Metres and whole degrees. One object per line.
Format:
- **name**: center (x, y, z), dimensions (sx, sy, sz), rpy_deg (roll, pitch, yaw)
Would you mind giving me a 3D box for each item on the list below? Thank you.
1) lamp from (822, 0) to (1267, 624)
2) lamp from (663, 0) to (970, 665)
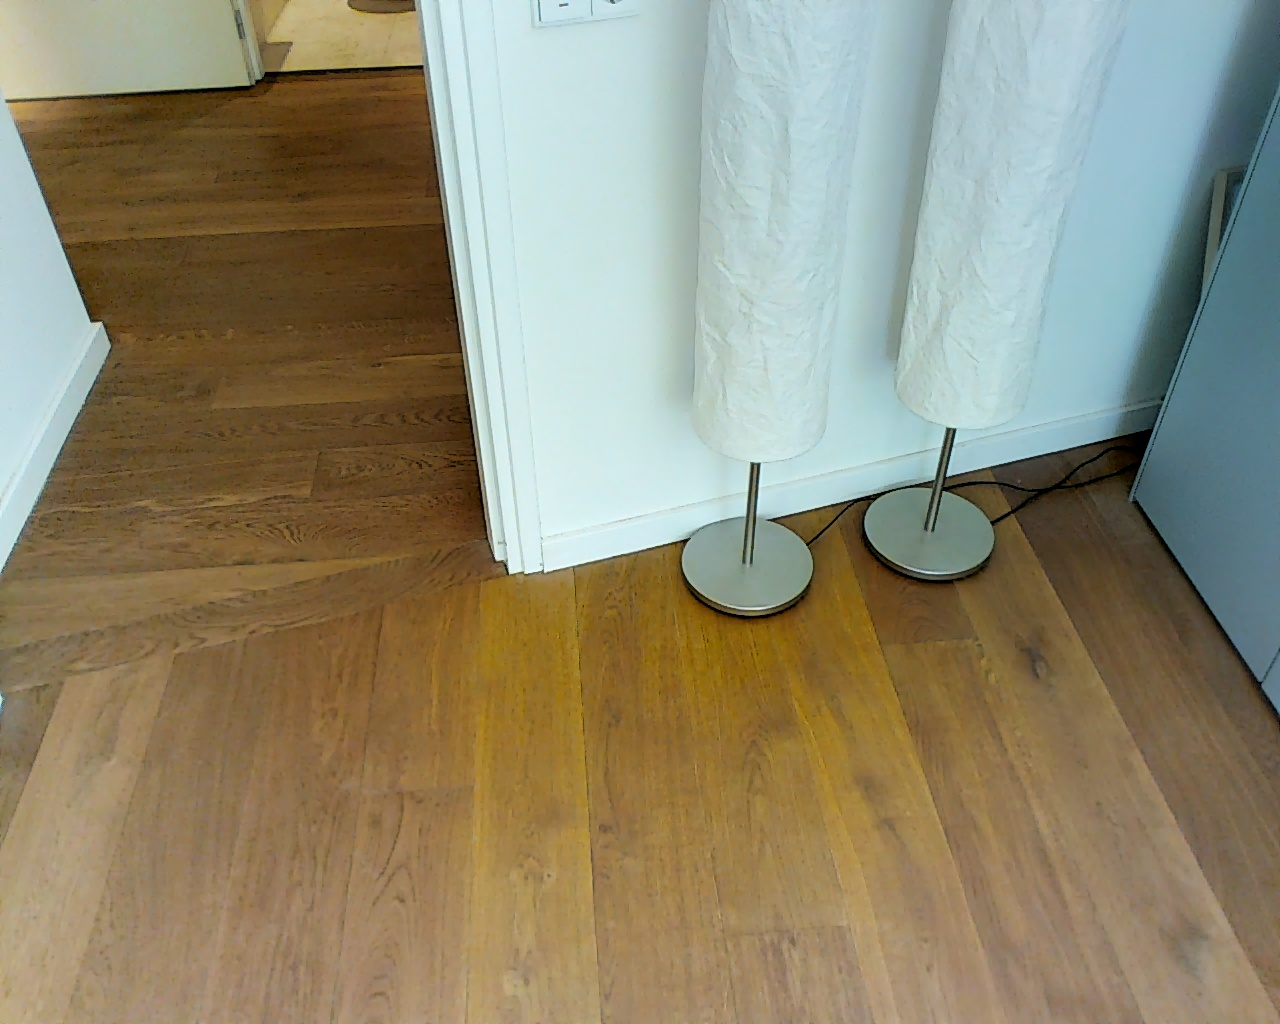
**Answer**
- **lamp**: center (0.550, -0.610, 1.490), dimensions (0.340, 1.790, 0.400), rpy_deg (-2, 41, -2)
- **lamp**: center (0.200, -0.560, 1.400), dimensions (0.290, 1.850, 0.370), rpy_deg (-4, 41, -4)
